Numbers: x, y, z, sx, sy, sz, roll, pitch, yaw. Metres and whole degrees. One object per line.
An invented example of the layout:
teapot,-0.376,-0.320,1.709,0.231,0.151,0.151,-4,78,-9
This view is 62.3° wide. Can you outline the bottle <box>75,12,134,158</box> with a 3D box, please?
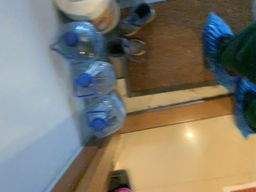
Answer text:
bottle,-0.070,-0.050,0.890,0.090,0.350,0.490,-10,98,6
